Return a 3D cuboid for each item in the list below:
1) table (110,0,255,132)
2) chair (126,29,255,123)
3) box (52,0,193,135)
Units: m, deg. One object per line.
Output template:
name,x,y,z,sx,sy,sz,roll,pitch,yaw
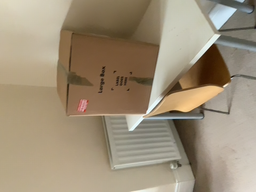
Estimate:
table,0.430,-0.250,1.620,1.010,0.730,0.640,-53,43,49
chair,0.480,-0.090,1.400,0.400,0.830,0.380,-50,46,50
box,-0.150,-0.210,1.390,0.850,0.530,0.610,-53,43,49
